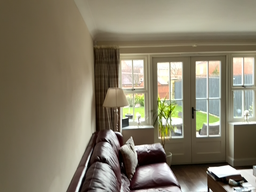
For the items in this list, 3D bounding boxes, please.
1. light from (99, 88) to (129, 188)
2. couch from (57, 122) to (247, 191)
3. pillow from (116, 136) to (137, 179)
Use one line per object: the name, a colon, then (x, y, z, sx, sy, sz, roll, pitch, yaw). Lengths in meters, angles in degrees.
light: (-0.230, 0.630, 3.430, 0.390, 1.510, 0.450, -2, 4, -5)
couch: (0.060, 0.940, 2.100, 1.030, 0.940, 2.180, -2, 4, -5)
pillow: (-0.020, 0.760, 2.690, 0.230, 0.390, 0.420, -2, 4, 0)
